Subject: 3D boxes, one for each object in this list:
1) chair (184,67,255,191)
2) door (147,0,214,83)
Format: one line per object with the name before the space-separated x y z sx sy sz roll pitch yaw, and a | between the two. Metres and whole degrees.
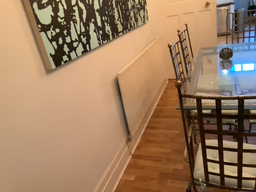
chair | 0.630 0.370 1.260 0.430 0.920 0.600 -1 25 24
door | 0.850 -1.300 3.480 0.970 2.250 0.160 0 26 25
